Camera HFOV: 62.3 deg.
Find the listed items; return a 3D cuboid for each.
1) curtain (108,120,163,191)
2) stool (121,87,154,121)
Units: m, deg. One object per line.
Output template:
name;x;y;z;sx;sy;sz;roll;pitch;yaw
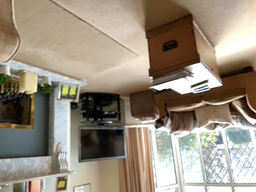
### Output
curtain;0.130;1.490;4.180;0.870;1.920;0.520;0;166;-17
stool;0.190;0.170;3.970;0.450;0.490;0.500;-9;166;17
